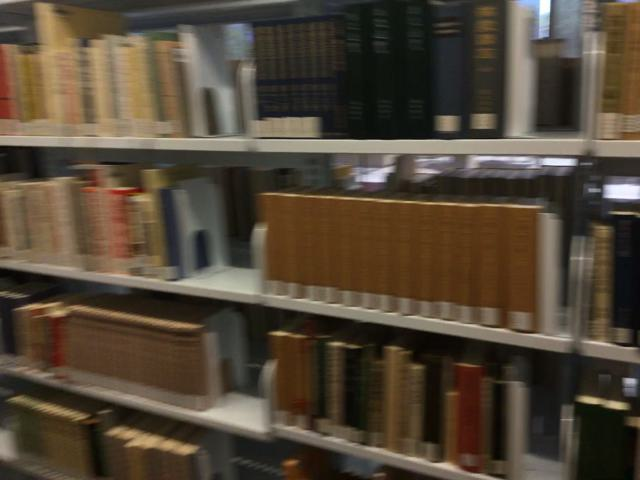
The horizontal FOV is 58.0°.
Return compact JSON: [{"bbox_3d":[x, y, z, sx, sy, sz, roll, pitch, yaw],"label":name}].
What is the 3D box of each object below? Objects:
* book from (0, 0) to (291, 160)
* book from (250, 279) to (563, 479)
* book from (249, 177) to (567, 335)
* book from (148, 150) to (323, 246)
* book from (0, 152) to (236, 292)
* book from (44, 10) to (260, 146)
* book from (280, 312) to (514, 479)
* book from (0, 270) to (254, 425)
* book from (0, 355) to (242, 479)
[{"bbox_3d":[-0.640,-0.390,1.410,1.130,0.330,0.250,5,15,22],"label":"book"},{"bbox_3d":[0.180,0.340,1.240,0.600,0.400,0.240,5,15,22],"label":"book"},{"bbox_3d":[0.160,0.010,1.120,0.570,0.220,0.170,5,15,22],"label":"book"},{"bbox_3d":[-0.250,-0.130,1.670,0.530,0.240,0.070,5,15,22],"label":"book"},{"bbox_3d":[-0.590,-0.070,1.470,0.720,0.270,0.220,5,15,22],"label":"book"},{"bbox_3d":[-0.360,-0.350,1.290,0.360,0.250,0.260,5,15,22],"label":"book"},{"bbox_3d":[0.160,0.310,1.210,0.440,0.210,0.190,5,15,22],"label":"book"},{"bbox_3d":[-0.560,0.260,1.540,0.750,0.240,0.200,5,15,22],"label":"book"},{"bbox_3d":[-0.600,0.600,1.620,0.750,0.390,0.200,5,15,22],"label":"book"}]
